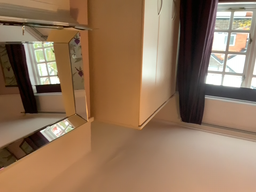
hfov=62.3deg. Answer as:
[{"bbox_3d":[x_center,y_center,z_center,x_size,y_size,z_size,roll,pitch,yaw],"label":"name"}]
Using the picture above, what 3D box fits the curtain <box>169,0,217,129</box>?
[{"bbox_3d":[0.830,-0.740,2.650,0.400,2.340,0.240,8,-163,21],"label":"curtain"}]
